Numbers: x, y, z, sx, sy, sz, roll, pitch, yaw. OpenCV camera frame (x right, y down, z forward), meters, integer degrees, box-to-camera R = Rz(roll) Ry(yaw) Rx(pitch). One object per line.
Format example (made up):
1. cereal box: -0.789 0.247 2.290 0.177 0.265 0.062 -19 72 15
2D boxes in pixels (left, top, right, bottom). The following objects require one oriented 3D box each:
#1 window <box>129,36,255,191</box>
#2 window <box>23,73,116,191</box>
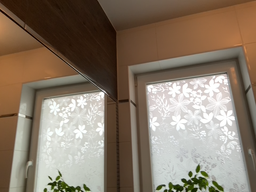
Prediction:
1. window: 0.510 0.480 1.470 0.930 1.720 0.210 -8 -19 18
2. window: -0.500 0.540 1.850 0.770 1.460 0.140 -6 -19 13
